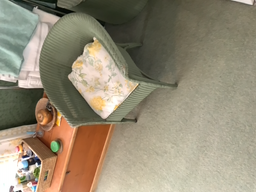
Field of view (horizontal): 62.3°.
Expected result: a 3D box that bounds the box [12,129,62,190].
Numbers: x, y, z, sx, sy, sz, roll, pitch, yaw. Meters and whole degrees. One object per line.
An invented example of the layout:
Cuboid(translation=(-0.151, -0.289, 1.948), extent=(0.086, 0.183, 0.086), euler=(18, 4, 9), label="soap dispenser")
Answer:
Cuboid(translation=(-0.740, 0.490, 1.710), extent=(0.330, 0.200, 0.310), euler=(24, 107, 33), label="box")

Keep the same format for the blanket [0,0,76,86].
Cuboid(translation=(-0.700, -0.360, 1.440), extent=(0.220, 0.520, 0.540), euler=(33, 111, 31), label="blanket")

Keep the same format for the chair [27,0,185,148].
Cuboid(translation=(-0.160, -0.160, 1.480), extent=(0.630, 0.630, 0.660), euler=(-47, 66, 29), label="chair")
